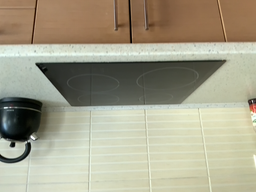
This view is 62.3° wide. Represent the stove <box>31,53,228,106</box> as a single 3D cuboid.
[{"bbox_3d":[0.000,-0.040,0.910,0.600,0.020,0.550,-1,163,-3],"label":"stove"}]

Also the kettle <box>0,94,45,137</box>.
[{"bbox_3d":[-0.530,0.100,1.010,0.190,0.160,0.200,-1,163,-4],"label":"kettle"}]
